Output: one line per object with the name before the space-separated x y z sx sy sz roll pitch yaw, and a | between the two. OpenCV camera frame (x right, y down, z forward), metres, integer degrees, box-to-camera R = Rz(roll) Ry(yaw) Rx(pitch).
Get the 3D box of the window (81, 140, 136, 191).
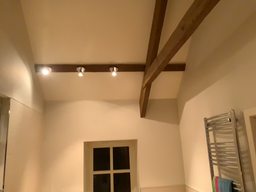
window | -0.360 1.380 3.820 0.960 1.110 0.080 -2 -13 -6
